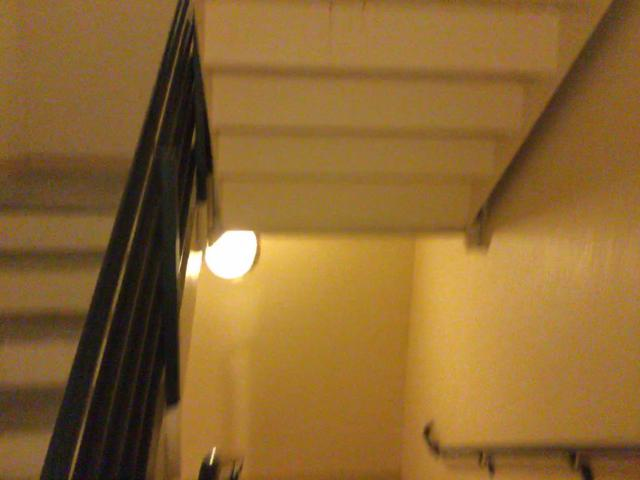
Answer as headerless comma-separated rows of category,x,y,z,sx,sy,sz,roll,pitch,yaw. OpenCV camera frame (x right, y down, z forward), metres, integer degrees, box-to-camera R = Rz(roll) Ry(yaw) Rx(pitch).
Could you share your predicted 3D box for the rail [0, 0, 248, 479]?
rail,-0.380,0.390,1.590,0.320,1.780,1.830,1,16,-6
